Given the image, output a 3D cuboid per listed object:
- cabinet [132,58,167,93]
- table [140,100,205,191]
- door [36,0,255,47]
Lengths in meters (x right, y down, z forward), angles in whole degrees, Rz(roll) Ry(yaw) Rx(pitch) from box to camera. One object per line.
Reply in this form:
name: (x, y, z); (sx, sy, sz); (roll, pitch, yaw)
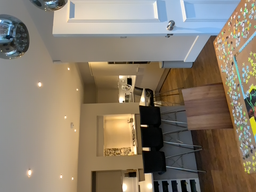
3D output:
cabinet: (0.620, -0.610, 6.630); (1.160, 0.870, 0.560); (96, 171, -68)
table: (0.810, 1.220, 4.280); (0.940, 0.920, 2.060); (99, 170, -67)
door: (0.240, -1.040, 2.130); (0.170, 2.130, 1.100); (103, 164, -73)
